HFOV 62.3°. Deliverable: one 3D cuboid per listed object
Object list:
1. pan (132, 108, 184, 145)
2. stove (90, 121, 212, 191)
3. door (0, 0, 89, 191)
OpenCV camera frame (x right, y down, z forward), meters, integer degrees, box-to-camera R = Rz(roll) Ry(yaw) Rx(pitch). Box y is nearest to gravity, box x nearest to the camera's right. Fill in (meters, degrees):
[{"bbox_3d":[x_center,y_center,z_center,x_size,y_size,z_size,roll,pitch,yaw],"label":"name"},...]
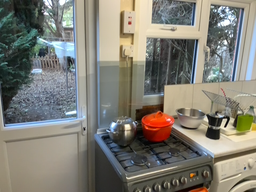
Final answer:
[{"bbox_3d":[0.210,0.210,1.570,0.260,0.140,0.300,-4,15,-21],"label":"pan"},{"bbox_3d":[0.110,0.400,1.470,0.600,0.180,0.620,-5,16,-24],"label":"stove"},{"bbox_3d":[-0.680,0.160,1.530,0.780,1.950,0.060,-5,16,-26],"label":"door"}]
